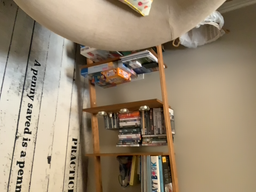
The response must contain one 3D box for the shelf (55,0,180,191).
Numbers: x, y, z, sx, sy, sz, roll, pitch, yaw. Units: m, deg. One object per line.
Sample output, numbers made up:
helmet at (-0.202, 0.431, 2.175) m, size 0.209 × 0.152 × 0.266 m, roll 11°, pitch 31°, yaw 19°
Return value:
shelf at (-0.050, 0.010, 1.600) m, size 0.680 × 1.510 × 0.470 m, roll -9°, pitch 160°, yaw 27°
